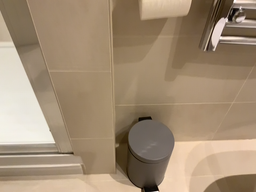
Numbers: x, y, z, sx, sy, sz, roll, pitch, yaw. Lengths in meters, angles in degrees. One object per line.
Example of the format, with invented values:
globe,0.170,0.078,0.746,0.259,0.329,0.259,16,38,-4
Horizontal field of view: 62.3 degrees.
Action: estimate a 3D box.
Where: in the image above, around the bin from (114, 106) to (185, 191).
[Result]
bin,0.060,0.220,0.850,0.210,0.280,0.210,-5,48,-7
